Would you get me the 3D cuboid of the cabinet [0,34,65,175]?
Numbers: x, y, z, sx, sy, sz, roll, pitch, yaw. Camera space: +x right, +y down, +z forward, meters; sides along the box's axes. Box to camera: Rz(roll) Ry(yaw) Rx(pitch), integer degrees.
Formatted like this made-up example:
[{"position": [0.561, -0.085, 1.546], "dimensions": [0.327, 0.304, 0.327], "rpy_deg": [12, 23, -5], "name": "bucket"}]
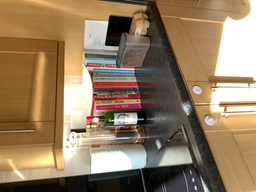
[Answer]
[{"position": [-0.730, 0.030, 1.000], "dimensions": [0.320, 0.820, 0.610], "rpy_deg": [111, 153, -52], "name": "cabinet"}]
